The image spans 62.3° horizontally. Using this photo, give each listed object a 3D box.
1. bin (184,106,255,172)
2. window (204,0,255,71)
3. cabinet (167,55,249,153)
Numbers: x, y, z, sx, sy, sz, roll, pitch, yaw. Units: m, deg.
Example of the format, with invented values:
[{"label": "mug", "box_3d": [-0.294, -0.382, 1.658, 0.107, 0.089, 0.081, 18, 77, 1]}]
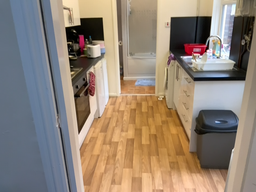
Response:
[{"label": "bin", "box_3d": [0.930, 0.450, 2.260, 0.540, 0.590, 0.340, -1, 21, 0]}, {"label": "window", "box_3d": [1.470, -1.200, 3.070, 0.300, 1.470, 1.000, 0, 21, 3]}, {"label": "cabinet", "box_3d": [0.970, 0.020, 2.950, 0.620, 0.950, 1.220, 0, 21, 1]}]
